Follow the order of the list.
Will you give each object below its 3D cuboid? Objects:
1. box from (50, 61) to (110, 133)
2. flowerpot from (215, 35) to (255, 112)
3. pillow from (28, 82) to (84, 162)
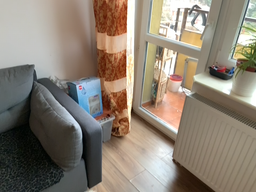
[{"bbox_3d":[-0.450,-0.020,1.960,0.290,0.390,0.570,-18,36,-34],"label":"box"},{"bbox_3d":[0.760,-0.150,1.300,0.240,0.370,0.240,-16,35,-32],"label":"flowerpot"},{"bbox_3d":[-0.520,0.150,1.500,0.170,0.270,0.580,-16,36,-32],"label":"pillow"}]
